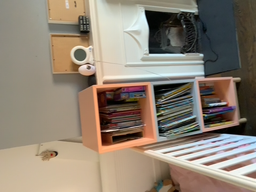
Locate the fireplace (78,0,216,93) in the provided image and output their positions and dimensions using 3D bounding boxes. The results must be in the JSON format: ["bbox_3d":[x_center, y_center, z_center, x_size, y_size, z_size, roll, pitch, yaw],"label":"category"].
[{"bbox_3d":[0.170,-0.540,1.710,0.260,1.040,0.930,-12,84,64],"label":"fireplace"}]

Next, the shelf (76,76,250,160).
[{"bbox_3d":[0.270,0.100,1.480,0.390,1.150,0.370,-9,86,64],"label":"shelf"}]
